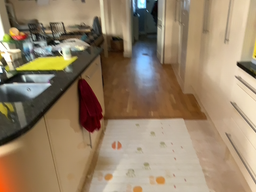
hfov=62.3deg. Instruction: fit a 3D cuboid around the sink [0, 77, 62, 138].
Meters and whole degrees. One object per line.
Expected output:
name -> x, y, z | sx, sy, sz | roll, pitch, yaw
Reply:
sink -> -0.710, 0.050, 1.270 | 0.470, 0.210, 0.390 | 0, 23, 4
